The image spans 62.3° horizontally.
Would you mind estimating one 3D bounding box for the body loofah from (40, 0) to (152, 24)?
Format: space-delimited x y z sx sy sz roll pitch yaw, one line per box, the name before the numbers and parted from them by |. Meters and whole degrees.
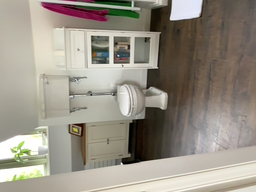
body loofah | -0.340 -0.940 2.320 0.380 1.140 0.200 -140 51 -65
